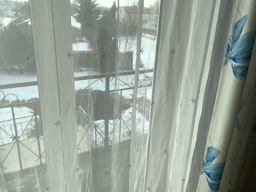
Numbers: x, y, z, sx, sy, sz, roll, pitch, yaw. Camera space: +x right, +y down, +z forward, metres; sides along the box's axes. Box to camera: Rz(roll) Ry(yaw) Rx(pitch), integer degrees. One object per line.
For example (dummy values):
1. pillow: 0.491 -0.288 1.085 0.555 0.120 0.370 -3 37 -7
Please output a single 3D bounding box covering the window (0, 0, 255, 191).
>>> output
1. window: -0.130 0.000 0.750 2.020 2.610 0.130 -10 25 -30
